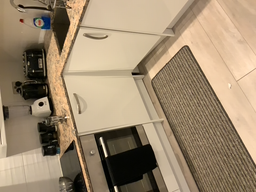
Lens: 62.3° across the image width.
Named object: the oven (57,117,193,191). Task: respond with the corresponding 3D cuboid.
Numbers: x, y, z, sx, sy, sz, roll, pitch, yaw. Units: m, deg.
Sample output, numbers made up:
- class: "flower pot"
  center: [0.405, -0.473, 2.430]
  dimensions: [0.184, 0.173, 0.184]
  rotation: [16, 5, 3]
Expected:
- class: "oven"
  center: [-0.060, 0.660, 1.930]
  dimensions: [0.640, 0.900, 0.610]
  rotation: [-48, 56, 48]
